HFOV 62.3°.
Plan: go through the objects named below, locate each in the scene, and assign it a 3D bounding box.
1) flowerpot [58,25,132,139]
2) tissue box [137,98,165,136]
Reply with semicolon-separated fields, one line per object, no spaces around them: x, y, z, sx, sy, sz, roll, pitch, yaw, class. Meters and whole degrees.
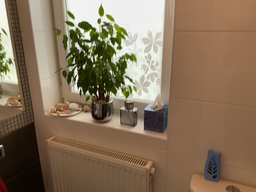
-0.170;-0.100;1.250;0.310;0.600;0.250;8;20;24;flowerpot
0.130;0.110;1.190;0.100;0.150;0.160;9;21;26;tissue box
